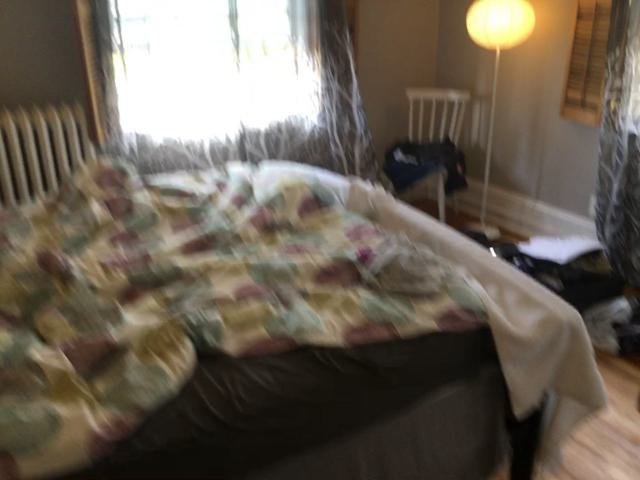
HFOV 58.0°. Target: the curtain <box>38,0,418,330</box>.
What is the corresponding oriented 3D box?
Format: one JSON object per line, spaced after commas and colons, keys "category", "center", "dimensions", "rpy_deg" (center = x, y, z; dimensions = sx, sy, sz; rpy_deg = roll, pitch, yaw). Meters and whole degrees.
{"category": "curtain", "center": [-0.390, -0.860, 2.920], "dimensions": [1.670, 2.100, 0.710], "rpy_deg": [-16, 27, -28]}
